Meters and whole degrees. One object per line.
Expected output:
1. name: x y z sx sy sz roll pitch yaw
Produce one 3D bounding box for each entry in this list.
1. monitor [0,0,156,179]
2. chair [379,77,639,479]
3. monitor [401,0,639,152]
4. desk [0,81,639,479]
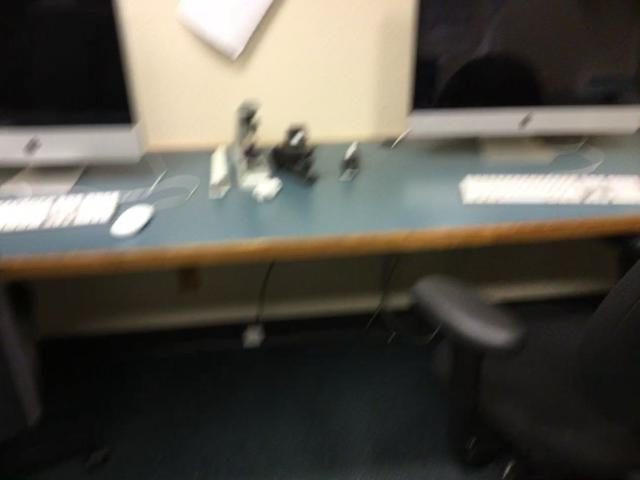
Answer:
1. monitor: -0.740 -0.400 1.440 0.570 0.460 0.160 -4 25 -6
2. chair: 0.550 0.230 1.230 0.600 0.990 0.590 -11 27 -21
3. monitor: 0.570 -0.490 1.560 0.650 0.440 0.170 -4 25 -6
4. desk: -0.320 0.180 0.730 3.970 0.240 2.380 -4 25 -6
